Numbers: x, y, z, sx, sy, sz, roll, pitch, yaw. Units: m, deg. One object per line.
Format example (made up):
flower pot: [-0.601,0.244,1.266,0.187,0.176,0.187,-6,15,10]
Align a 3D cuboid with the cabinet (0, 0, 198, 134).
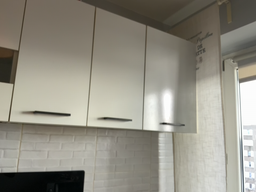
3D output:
cabinet: [-0.390,-0.170,1.000,1.760,0.600,0.290,9,-12,-30]
